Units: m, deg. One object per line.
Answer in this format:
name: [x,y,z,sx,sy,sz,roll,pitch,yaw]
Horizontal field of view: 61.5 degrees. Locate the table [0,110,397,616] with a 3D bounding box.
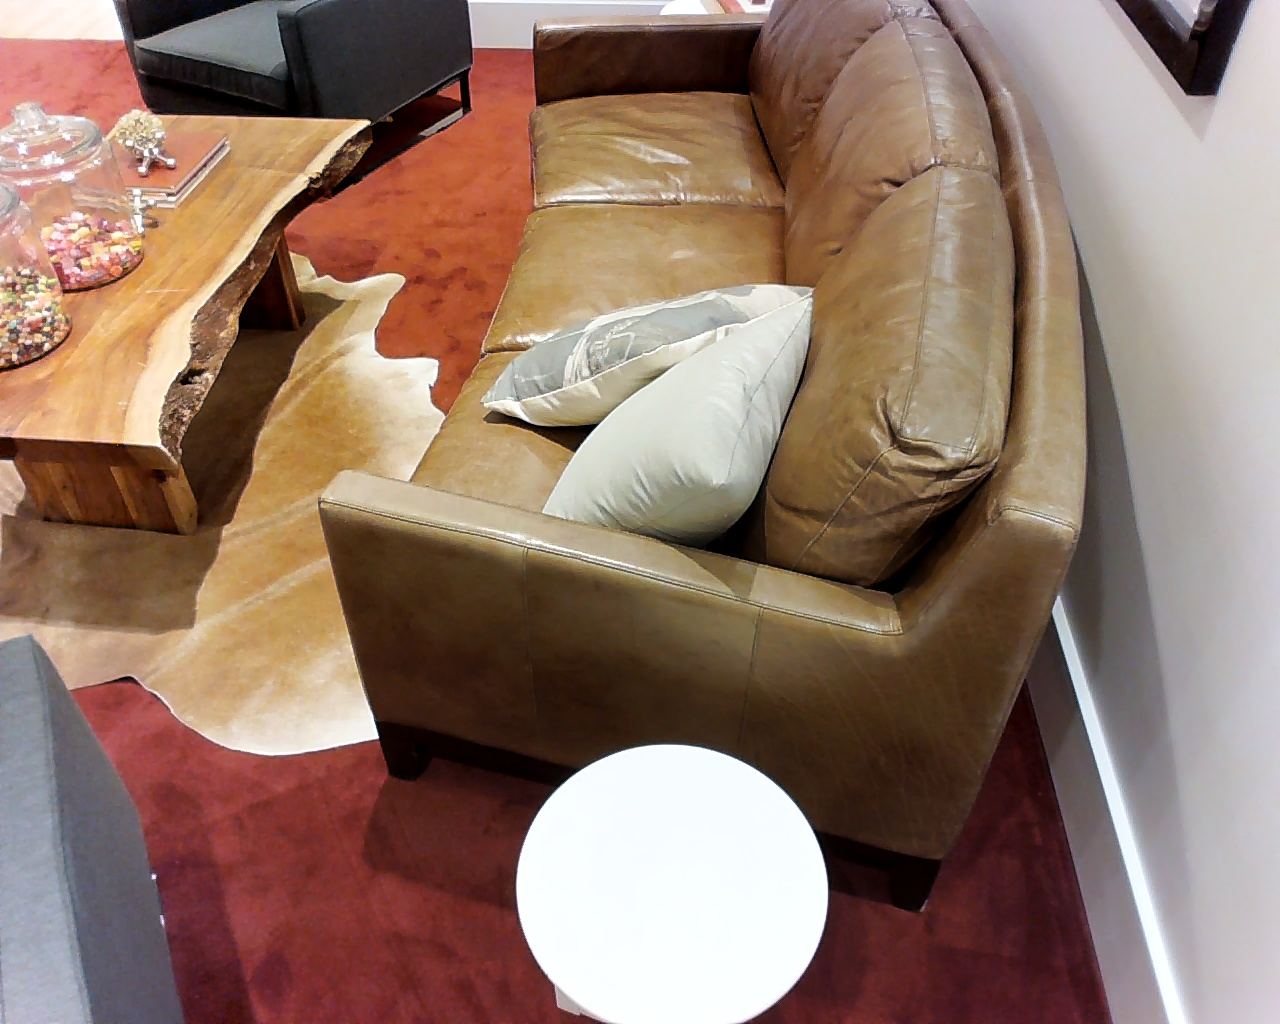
table: [-1.100,-0.420,2.440,0.730,0.450,1.310,2,43,3]
